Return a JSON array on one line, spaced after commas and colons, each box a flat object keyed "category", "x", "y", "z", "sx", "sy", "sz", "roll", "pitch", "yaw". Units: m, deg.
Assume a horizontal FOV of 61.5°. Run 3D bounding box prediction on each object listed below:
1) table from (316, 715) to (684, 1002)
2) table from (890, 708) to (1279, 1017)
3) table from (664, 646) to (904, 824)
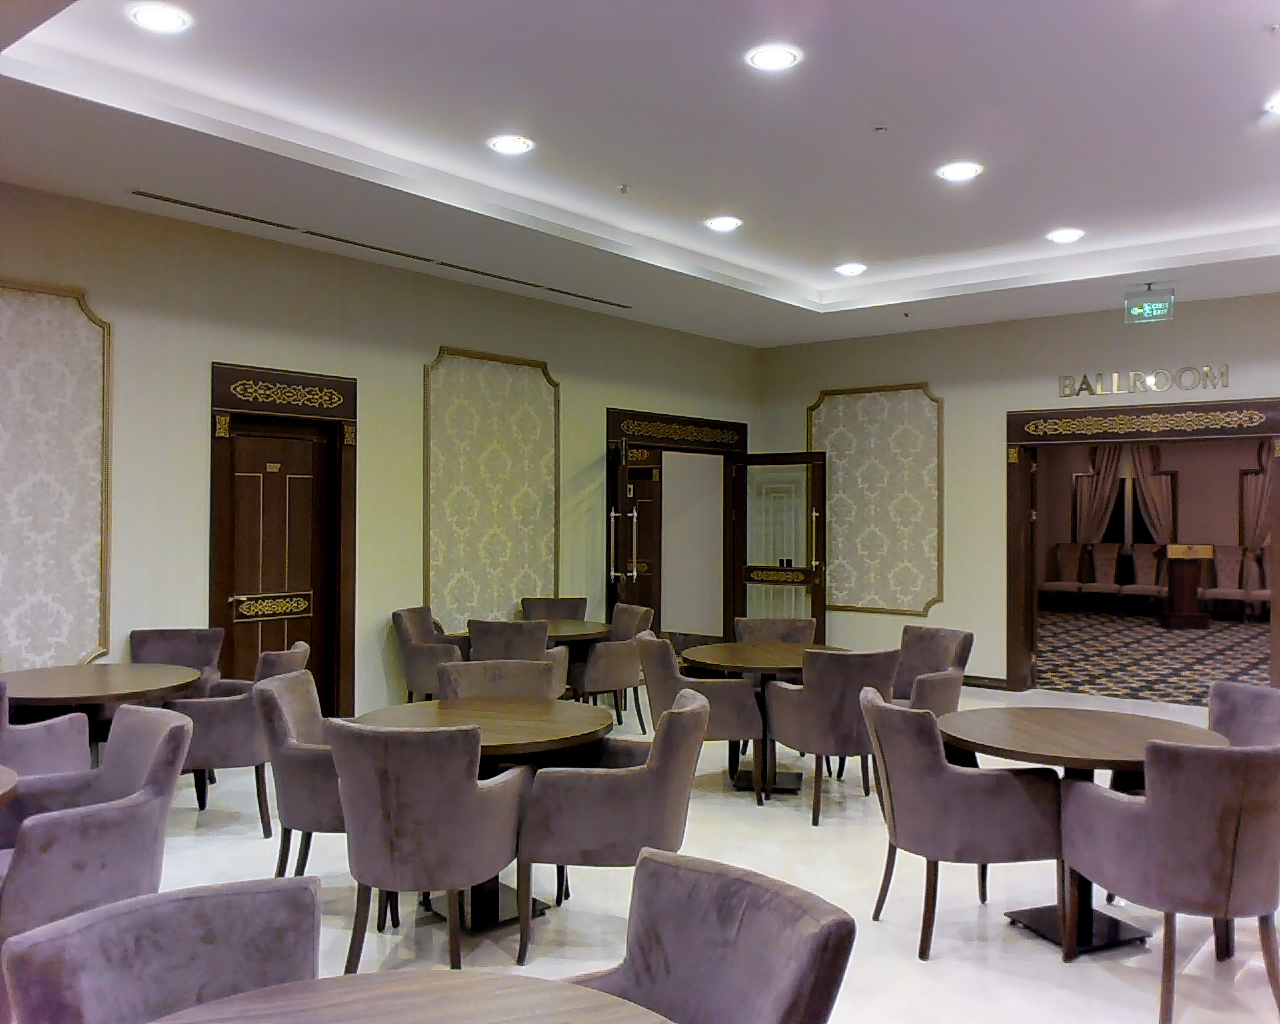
[{"category": "table", "x": -0.530, "y": 1.241, "z": 4.140, "sx": 1.000, "sy": 0.660, "sz": 0.980, "roll": 1, "pitch": 0, "yaw": 40}, {"category": "table", "x": 1.649, "y": 1.201, "z": 3.960, "sx": 1.060, "sy": 0.740, "sz": 0.980, "roll": 1, "pitch": 0, "yaw": -17}, {"category": "table", "x": 0.830, "y": 1.211, "z": 6.120, "sx": 0.960, "sy": 0.730, "sz": 1.000, "roll": 1, "pitch": 0, "yaw": 40}]
